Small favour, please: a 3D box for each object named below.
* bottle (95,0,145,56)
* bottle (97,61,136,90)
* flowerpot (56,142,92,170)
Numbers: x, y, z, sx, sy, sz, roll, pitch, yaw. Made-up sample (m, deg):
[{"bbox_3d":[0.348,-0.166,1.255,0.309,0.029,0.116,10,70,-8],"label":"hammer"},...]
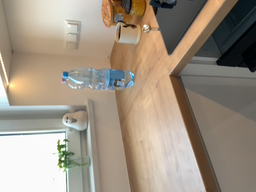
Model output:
[{"bbox_3d":[-0.050,-0.360,1.010,0.210,0.150,0.250,124,142,-56],"label":"bottle"},{"bbox_3d":[-0.060,-0.100,1.060,0.090,0.160,0.100,122,143,-54],"label":"bottle"},{"bbox_3d":[-0.290,0.320,1.130,0.100,0.170,0.110,122,143,-54],"label":"flowerpot"}]
